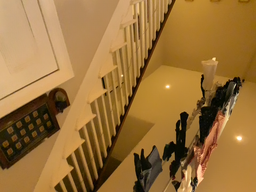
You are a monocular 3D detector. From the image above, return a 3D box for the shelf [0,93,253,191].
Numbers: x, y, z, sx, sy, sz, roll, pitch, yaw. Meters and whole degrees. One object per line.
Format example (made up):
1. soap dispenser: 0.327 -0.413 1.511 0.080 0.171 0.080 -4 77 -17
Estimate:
1. shelf: 0.320 0.600 2.170 2.930 1.000 0.820 -30 -57 -73
